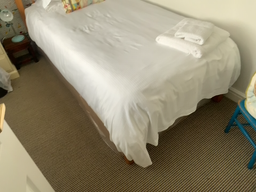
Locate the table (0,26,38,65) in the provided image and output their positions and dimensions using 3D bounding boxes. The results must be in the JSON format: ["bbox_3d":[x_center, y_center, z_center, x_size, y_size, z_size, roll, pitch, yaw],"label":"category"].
[{"bbox_3d":[-1.270,-0.590,2.450,0.260,0.270,0.330,-28,48,-23],"label":"table"}]
